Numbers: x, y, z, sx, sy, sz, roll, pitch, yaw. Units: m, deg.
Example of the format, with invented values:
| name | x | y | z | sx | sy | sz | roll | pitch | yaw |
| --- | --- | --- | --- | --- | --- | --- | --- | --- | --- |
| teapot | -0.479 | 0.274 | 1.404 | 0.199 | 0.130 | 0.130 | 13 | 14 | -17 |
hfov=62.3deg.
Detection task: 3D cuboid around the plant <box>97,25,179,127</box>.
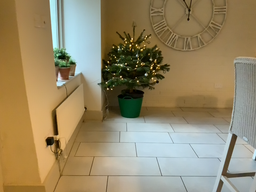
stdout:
| name | x | y | z | sx | sy | sz | roll | pitch | yaw |
| --- | --- | --- | --- | --- | --- | --- | --- | --- | --- |
| plant | 0.080 | -0.320 | 3.120 | 0.980 | 1.280 | 0.900 | 1 | 14 | -3 |
